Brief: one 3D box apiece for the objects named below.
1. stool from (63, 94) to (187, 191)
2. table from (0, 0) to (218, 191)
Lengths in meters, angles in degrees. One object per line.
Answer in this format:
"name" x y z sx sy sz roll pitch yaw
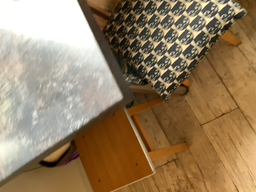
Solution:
"stool" 0.010 0.210 1.050 0.320 0.460 0.320 -34 73 27
"table" -0.250 0.000 0.980 0.960 0.870 0.560 -34 73 27
